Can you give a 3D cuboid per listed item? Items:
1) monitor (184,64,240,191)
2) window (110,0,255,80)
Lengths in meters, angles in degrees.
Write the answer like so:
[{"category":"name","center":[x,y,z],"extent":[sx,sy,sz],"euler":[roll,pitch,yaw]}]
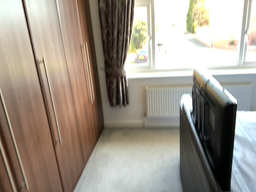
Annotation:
[{"category":"monitor","center":[0.430,0.130,1.230],"extent":[0.060,0.490,0.730],"euler":[-2,20,4]},{"category":"window","center":[0.910,-0.970,2.820],"extent":[2.230,1.390,0.280],"euler":[-2,20,5]}]
